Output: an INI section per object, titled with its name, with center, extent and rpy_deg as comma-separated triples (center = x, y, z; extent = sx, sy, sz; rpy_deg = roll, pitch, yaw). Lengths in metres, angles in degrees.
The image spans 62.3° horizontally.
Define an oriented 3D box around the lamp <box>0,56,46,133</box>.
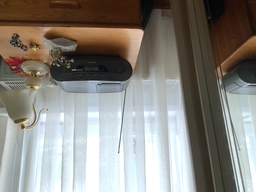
[lamp]
center = -0.460, 0.000, 0.940
extent = 0.110, 0.300, 0.170
rpy_deg = -1, 161, -3
